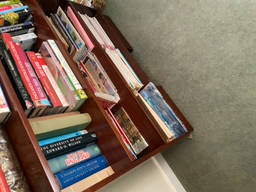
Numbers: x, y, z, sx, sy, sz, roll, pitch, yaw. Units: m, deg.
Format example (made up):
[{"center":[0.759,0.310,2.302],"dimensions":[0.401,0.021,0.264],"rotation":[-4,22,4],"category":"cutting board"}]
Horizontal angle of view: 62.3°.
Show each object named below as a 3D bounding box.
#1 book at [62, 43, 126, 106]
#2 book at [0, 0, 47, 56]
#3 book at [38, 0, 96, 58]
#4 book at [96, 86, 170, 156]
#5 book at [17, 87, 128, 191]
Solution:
[{"center":[-0.160,-0.100,0.980],"dimensions":[0.170,0.140,0.220],"rotation":[-47,69,32],"category":"book"},{"center":[-0.470,-0.290,0.820],"dimensions":[0.130,0.180,0.240],"rotation":[-47,68,32],"category":"book"},{"center":[-0.310,-0.330,1.070],"dimensions":[0.170,0.150,0.210],"rotation":[-47,68,32],"category":"book"},{"center":[0.020,0.100,0.900],"dimensions":[0.180,0.170,0.200],"rotation":[-46,69,32],"category":"book"},{"center":[-0.170,0.130,0.630],"dimensions":[0.150,0.170,0.270],"rotation":[-47,69,32],"category":"book"}]
